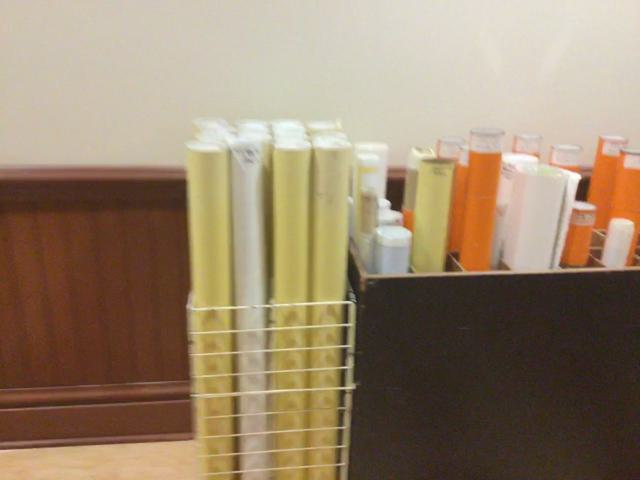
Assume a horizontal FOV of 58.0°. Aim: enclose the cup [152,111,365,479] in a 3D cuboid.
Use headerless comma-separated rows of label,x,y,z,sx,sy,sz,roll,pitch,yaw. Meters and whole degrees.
cup,-0.170,0.240,1.630,0.450,1.120,0.460,-3,21,-10
